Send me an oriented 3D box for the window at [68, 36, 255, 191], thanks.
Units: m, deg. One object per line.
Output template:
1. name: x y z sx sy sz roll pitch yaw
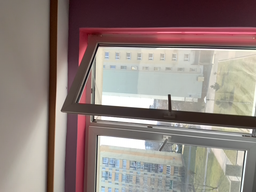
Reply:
1. window: 0.280 0.710 1.750 0.170 1.580 2.290 -29 -58 -78
